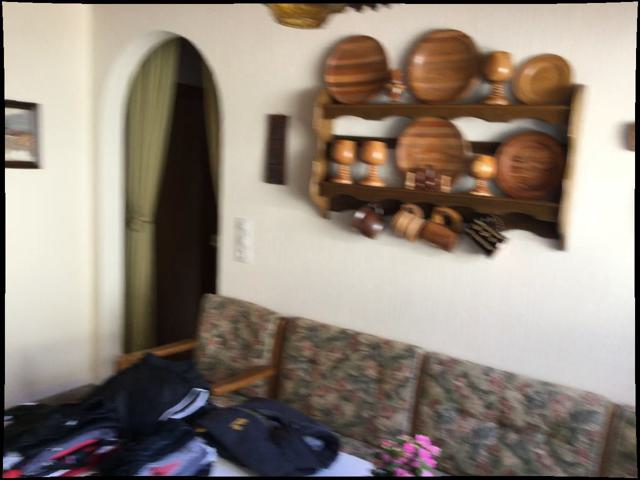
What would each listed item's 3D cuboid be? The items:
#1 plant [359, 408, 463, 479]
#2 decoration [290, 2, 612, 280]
[{"bbox_3d":[0.210,0.561,1.370,0.180,0.230,0.160,11,12,33],"label":"plant"},{"bbox_3d":[0.420,-0.400,2.240,1.139,0.881,0.180,11,12,33],"label":"decoration"}]
